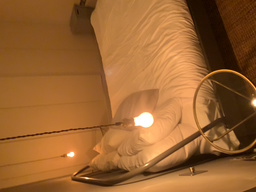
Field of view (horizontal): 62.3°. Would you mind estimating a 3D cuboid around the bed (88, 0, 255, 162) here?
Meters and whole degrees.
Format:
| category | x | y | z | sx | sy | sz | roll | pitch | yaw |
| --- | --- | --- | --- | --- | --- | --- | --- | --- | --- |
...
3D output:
| category | x | y | z | sx | sy | sz | roll | pitch | yaw |
| --- | --- | --- | --- | --- | --- | --- | --- | --- | --- |
| bed | 0.180 | -0.470 | 2.160 | 1.560 | 0.550 | 2.070 | 143 | 119 | -61 |
